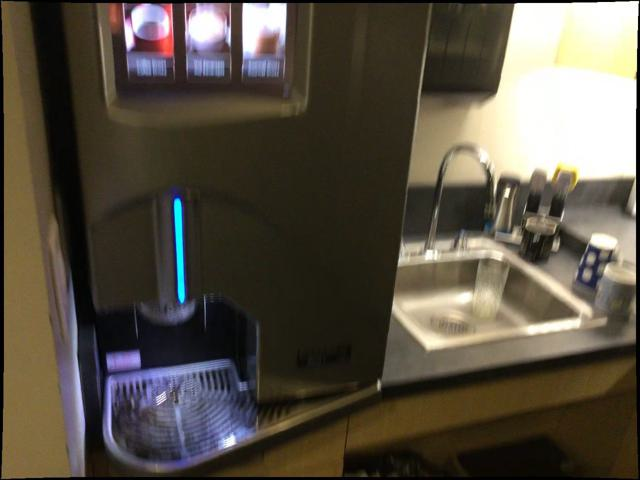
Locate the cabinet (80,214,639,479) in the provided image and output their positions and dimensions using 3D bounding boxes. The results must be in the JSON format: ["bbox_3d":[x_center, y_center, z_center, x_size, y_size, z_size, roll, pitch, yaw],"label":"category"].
[{"bbox_3d":[0.140,0.501,1.540,1.347,0.822,0.630,-7,30,-20],"label":"cabinet"}]

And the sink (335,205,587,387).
[{"bbox_3d":[0.329,0.110,1.490,0.429,0.190,0.460,-7,30,-20],"label":"sink"}]
